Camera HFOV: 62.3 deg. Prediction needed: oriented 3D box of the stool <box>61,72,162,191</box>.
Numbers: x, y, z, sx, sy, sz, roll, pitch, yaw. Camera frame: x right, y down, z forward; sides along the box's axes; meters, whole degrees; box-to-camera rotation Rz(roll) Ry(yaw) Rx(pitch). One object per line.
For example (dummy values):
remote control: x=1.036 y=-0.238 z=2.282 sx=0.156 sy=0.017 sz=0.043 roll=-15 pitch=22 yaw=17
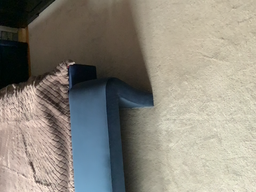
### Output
stool: x=-0.070 y=0.650 z=1.340 sx=0.390 sy=0.430 sz=1.530 roll=-7 pitch=88 yaw=44
